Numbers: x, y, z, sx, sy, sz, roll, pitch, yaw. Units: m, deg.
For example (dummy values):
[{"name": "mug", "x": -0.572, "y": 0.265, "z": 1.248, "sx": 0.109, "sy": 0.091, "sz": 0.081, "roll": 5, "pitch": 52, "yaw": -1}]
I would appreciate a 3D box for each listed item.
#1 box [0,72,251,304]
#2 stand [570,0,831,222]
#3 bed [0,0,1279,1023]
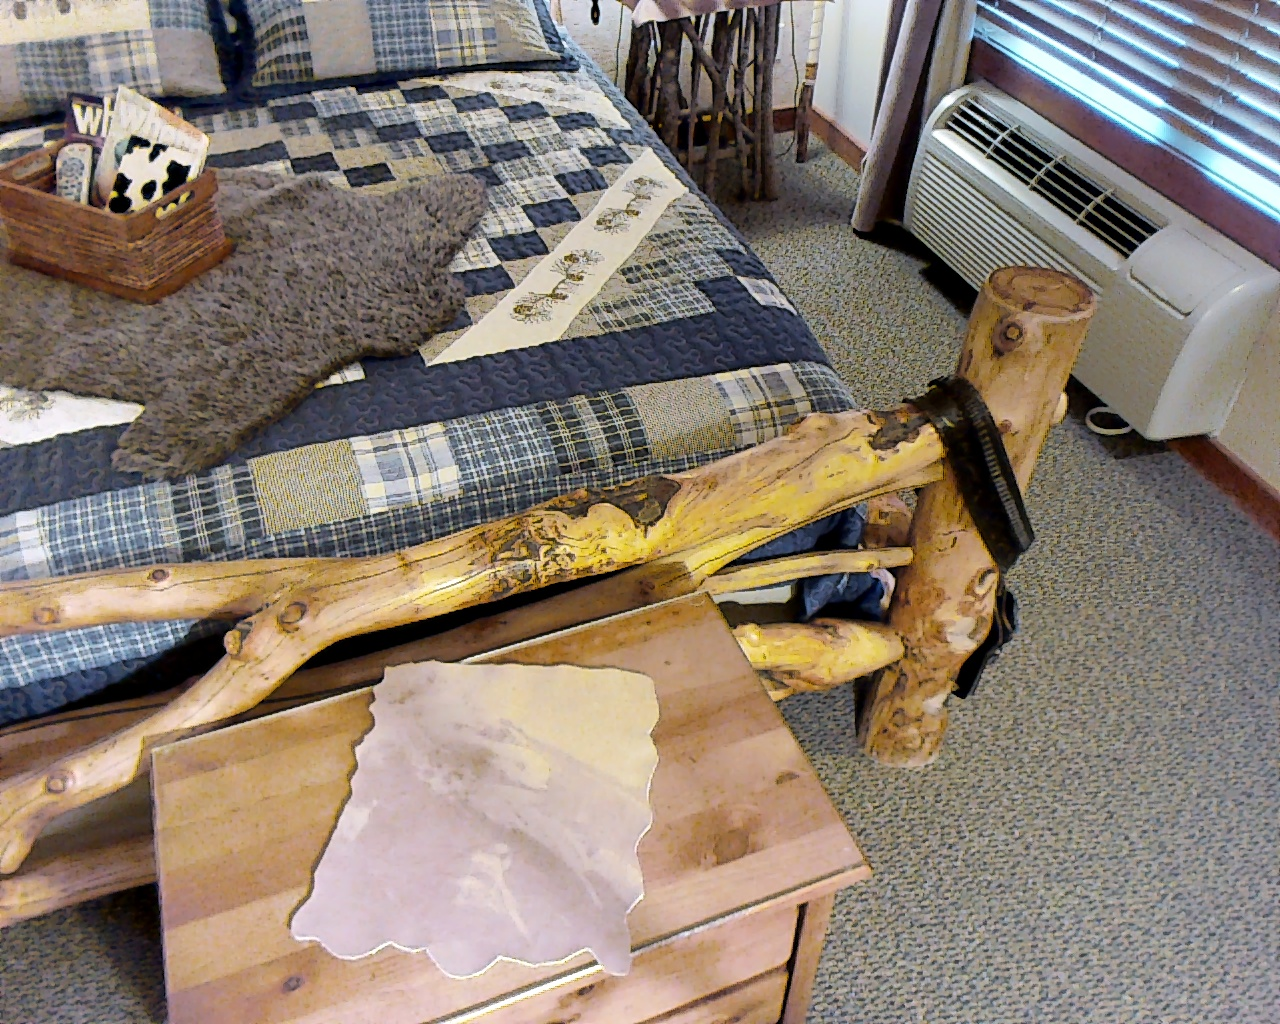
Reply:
[{"name": "box", "x": -0.840, "y": -0.510, "z": 1.670, "sx": 0.320, "sy": 0.200, "sz": 0.260, "roll": 18, "pitch": 45, "yaw": 17}, {"name": "stand", "x": 0.160, "y": -1.350, "z": 3.290, "sx": 0.620, "sy": 0.660, "sz": 0.490, "roll": -14, "pitch": 45, "yaw": -15}, {"name": "bed", "x": -0.730, "y": -0.630, "z": 1.990, "sx": 2.010, "sy": 1.360, "sz": 2.500, "roll": -14, "pitch": 45, "yaw": -15}]
